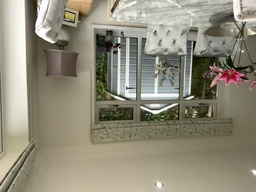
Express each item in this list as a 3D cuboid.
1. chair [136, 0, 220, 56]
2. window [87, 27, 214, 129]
[{"bbox_3d":[0.460,-0.960,2.120,0.570,1.030,0.660,0,-175,-16],"label":"chair"},{"bbox_3d":[0.430,-0.260,3.450,2.140,1.470,0.140,-1,-175,-18],"label":"window"}]
